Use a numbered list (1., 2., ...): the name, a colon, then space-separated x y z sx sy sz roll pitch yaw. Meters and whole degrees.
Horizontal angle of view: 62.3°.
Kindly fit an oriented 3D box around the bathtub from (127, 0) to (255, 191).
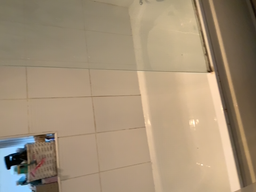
1. bathtub: 0.510 0.000 1.460 0.750 0.520 1.610 -27 68 57
